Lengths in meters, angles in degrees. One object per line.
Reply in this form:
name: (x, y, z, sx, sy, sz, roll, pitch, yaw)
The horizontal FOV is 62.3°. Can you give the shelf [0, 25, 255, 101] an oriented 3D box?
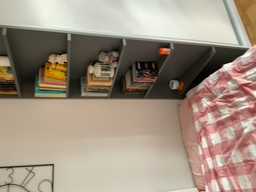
shelf: (-0.260, -0.190, 1.680, 0.640, 2.640, 0.190, 125, 142, -60)
